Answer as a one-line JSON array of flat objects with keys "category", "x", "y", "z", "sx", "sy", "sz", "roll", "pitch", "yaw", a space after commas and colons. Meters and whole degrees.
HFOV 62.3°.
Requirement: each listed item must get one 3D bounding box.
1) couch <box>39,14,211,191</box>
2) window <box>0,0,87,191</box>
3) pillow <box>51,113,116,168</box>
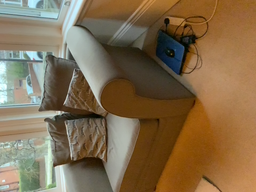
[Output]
[{"category": "couch", "x": -0.260, "y": 0.260, "z": 2.010, "sx": 1.080, "sy": 0.950, "sz": 1.600, "roll": 54, "pitch": 138, "yaw": 45}, {"category": "window", "x": -1.330, "y": 0.080, "z": 1.820, "sx": 0.930, "sy": 1.460, "sz": 2.400, "roll": 55, "pitch": 139, "yaw": 45}, {"category": "pillow", "x": -0.400, "y": 0.440, "z": 2.020, "sx": 0.100, "sy": 0.420, "sz": 0.480, "roll": 59, "pitch": 178, "yaw": 47}]
